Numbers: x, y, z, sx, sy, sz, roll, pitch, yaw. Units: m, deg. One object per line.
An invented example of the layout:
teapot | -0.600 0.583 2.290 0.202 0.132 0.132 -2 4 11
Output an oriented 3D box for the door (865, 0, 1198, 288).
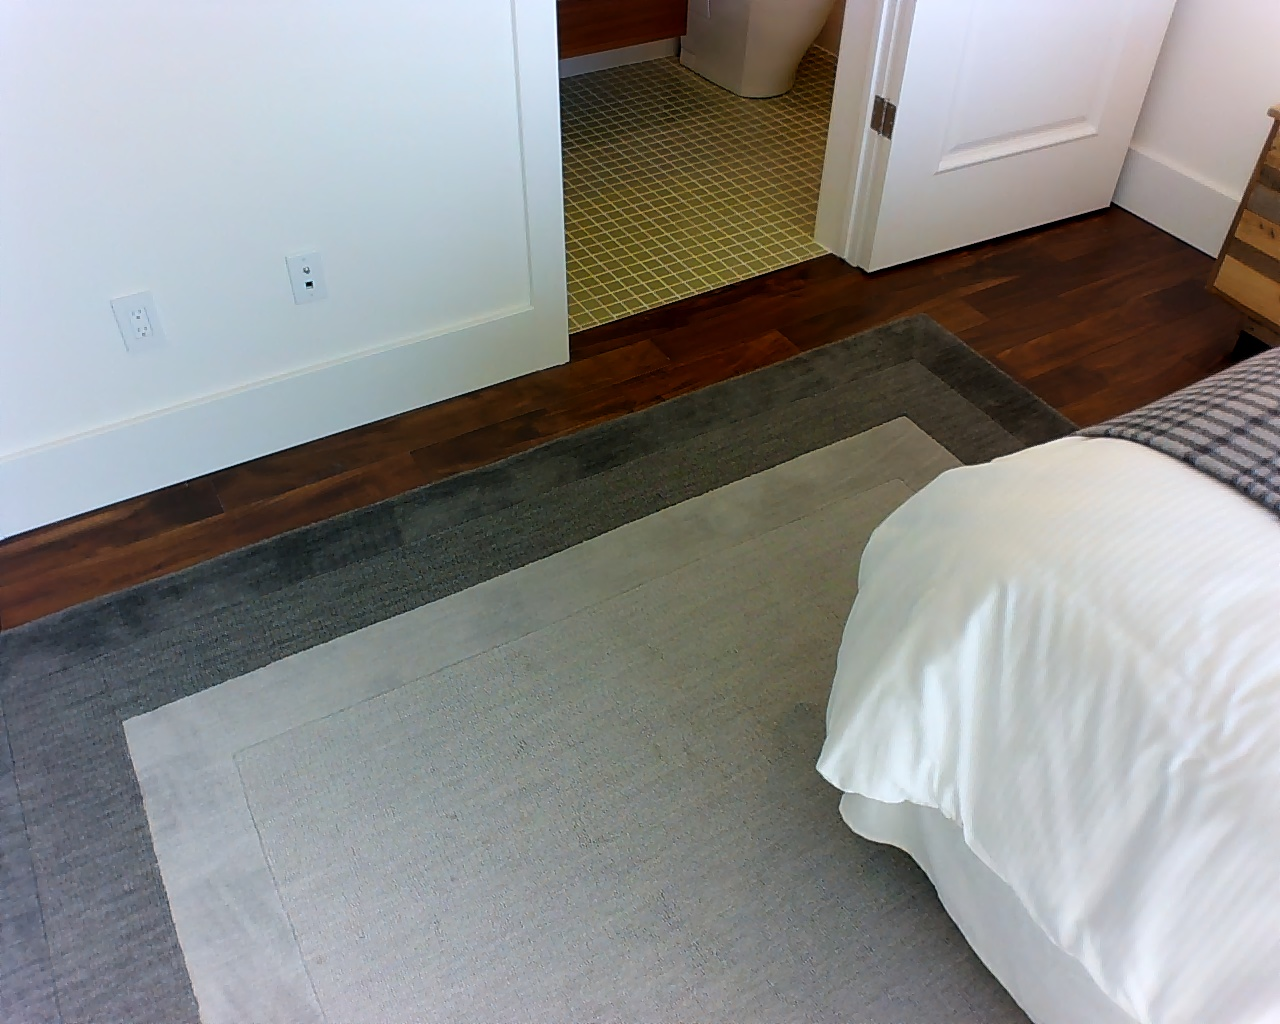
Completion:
door | 1.070 -1.580 2.410 0.920 2.190 0.060 -19 47 -20
